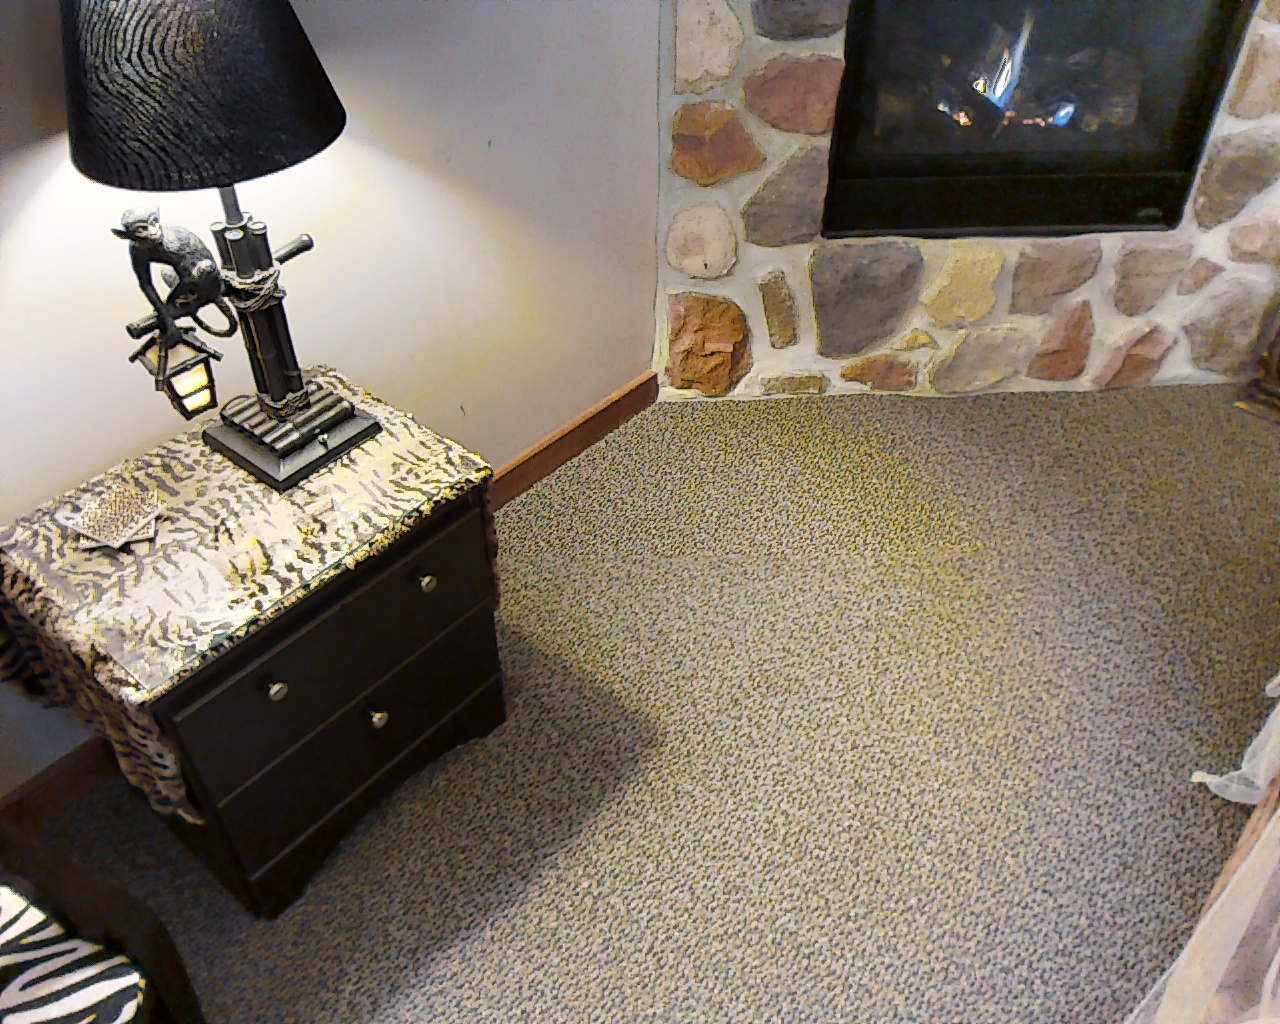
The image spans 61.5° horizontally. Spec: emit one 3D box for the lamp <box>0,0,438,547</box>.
[{"bbox_3d":[-0.530,-0.380,1.380,0.330,0.740,0.320,31,51,28],"label":"lamp"}]

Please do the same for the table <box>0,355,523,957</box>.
[{"bbox_3d":[-0.580,0.200,1.690,0.450,0.550,0.620,32,51,28],"label":"table"}]

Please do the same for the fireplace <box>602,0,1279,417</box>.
[{"bbox_3d":[0.770,-0.980,2.310,1.680,1.500,0.520,-2,43,-4],"label":"fireplace"}]
